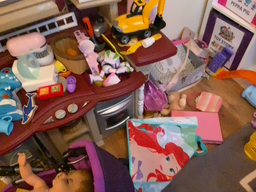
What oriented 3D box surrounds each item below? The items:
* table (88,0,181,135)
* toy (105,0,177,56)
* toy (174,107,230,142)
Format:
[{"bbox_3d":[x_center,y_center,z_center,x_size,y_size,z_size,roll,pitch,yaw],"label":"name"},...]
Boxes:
[{"bbox_3d":[0.010,-0.150,1.140,0.180,0.550,0.490,-25,56,-17],"label":"table"},{"bbox_3d":[0.050,-0.300,0.850,0.230,0.170,0.130,-24,55,-16],"label":"toy"},{"bbox_3d":[0.410,0.160,1.210,0.270,0.080,0.170,2,52,3],"label":"toy"}]
